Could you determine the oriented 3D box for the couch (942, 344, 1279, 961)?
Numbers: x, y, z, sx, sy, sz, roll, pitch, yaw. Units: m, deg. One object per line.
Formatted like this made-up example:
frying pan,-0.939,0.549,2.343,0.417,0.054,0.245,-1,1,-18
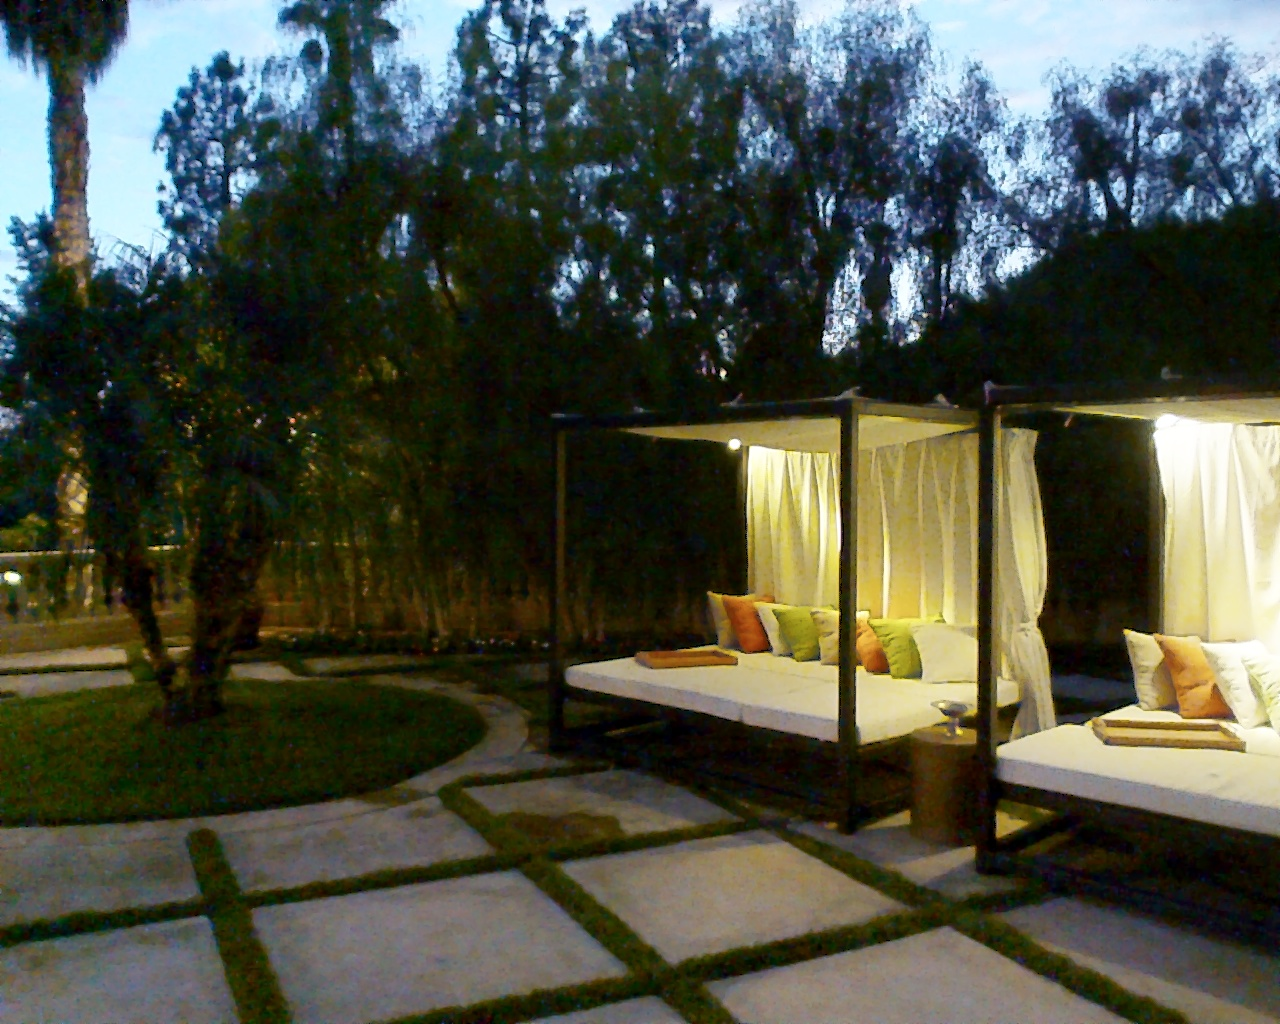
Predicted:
couch,2.919,0.460,4.230,2.720,2.081,1.960,2,2,42
